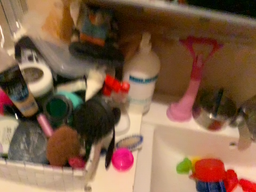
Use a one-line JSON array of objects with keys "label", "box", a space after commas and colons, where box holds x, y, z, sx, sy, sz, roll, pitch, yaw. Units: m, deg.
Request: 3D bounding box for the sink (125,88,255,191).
[{"label": "sink", "box": [0.300, 0.230, 0.630, 0.590, 0.170, 0.420, 9, 48, 1]}]
